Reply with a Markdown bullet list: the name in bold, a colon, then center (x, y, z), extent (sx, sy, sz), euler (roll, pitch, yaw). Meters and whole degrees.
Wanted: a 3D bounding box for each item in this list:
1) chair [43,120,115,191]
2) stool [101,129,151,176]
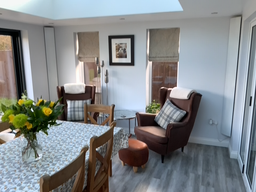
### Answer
- **chair**: center (-0.430, 0.750, 2.030), extent (0.490, 0.910, 0.420), euler (4, 12, 16)
- **stool**: center (-0.040, 0.800, 3.130), extent (0.390, 0.380, 0.650), euler (-11, 16, -43)
